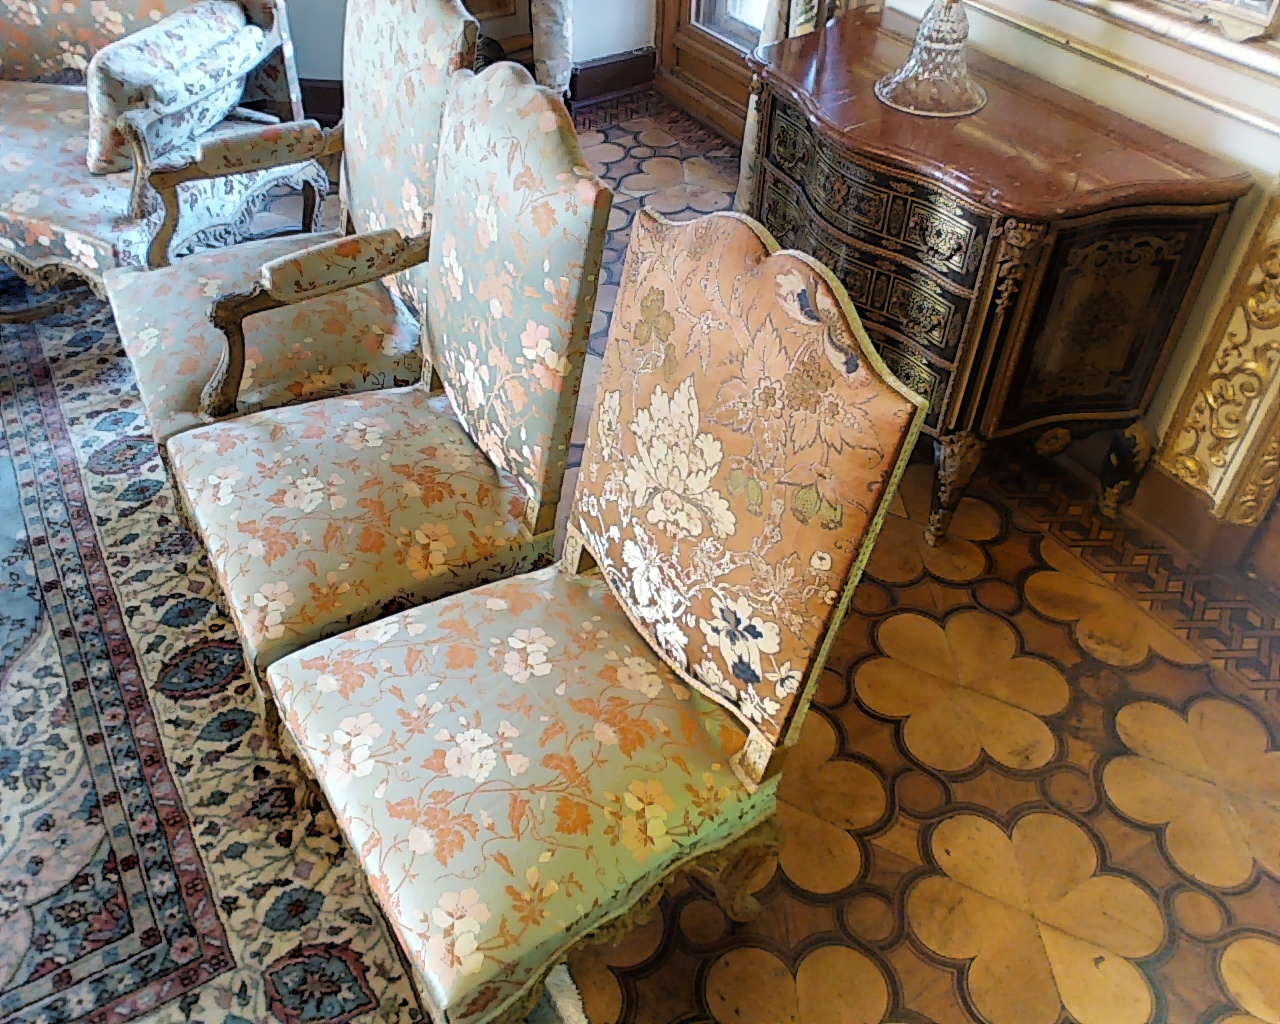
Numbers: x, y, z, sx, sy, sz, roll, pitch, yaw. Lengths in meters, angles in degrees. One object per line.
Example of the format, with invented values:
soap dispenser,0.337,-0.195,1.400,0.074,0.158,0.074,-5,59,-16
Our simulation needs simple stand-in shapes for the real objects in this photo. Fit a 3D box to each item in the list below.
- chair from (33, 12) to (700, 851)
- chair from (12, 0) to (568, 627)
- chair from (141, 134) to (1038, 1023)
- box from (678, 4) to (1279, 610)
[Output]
chair,-0.390,-0.120,1.840,0.730,1.130,0.590,-22,47,-23
chair,-0.690,-0.550,2.260,0.770,1.190,0.770,-20,46,-22
chair,-0.080,0.220,1.490,0.710,1.150,0.620,-22,47,-23
box,0.660,-0.530,2.510,0.610,0.860,1.110,-22,47,-23
